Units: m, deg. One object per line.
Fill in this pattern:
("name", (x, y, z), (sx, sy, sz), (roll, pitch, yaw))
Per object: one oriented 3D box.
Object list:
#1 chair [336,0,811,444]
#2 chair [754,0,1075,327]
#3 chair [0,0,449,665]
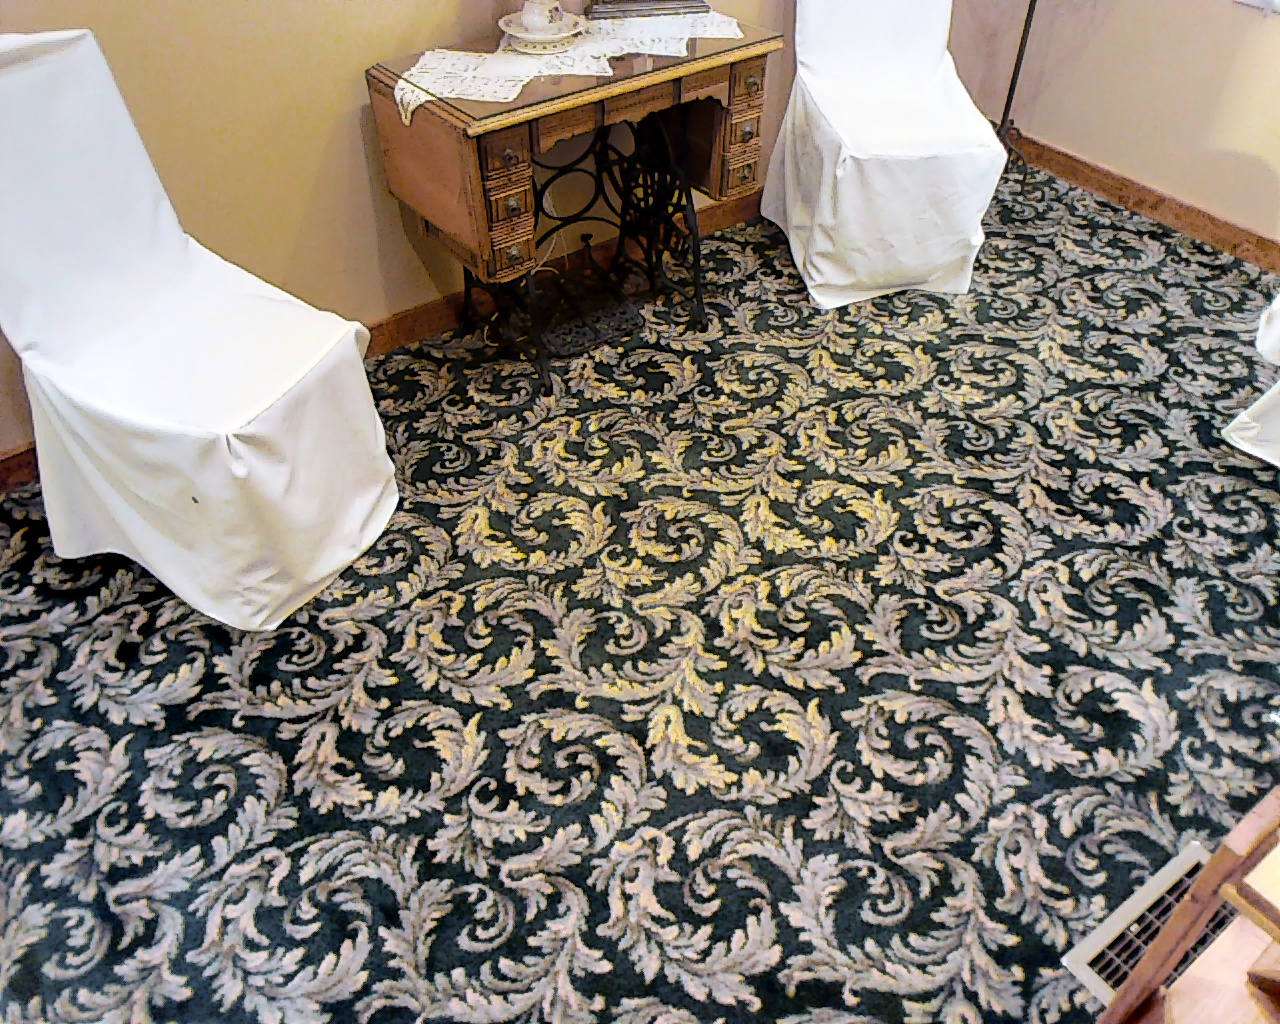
("chair", (-0.130, -0.780, 2.640), (0.940, 0.790, 0.490), (-28, 49, -28))
("chair", (0.670, -1.110, 2.830), (0.550, 1.030, 0.600), (-5, 42, -6))
("chair", (-0.860, -0.370, 1.990), (0.670, 1.040, 0.620), (14, 44, 15))
